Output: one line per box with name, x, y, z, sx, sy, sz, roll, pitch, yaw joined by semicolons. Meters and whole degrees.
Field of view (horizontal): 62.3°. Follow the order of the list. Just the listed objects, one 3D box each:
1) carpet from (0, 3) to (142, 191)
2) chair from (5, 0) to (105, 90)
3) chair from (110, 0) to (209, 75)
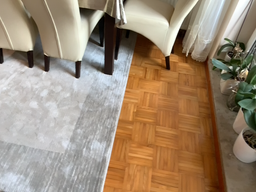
carpet;-1.440;-0.330;1.800;2.910;0.040;1.920;11;47;3
chair;-0.470;-0.630;1.570;0.430;0.950;0.610;14;47;6
chair;0.240;-0.710;1.780;0.670;0.890;0.430;12;47;3
